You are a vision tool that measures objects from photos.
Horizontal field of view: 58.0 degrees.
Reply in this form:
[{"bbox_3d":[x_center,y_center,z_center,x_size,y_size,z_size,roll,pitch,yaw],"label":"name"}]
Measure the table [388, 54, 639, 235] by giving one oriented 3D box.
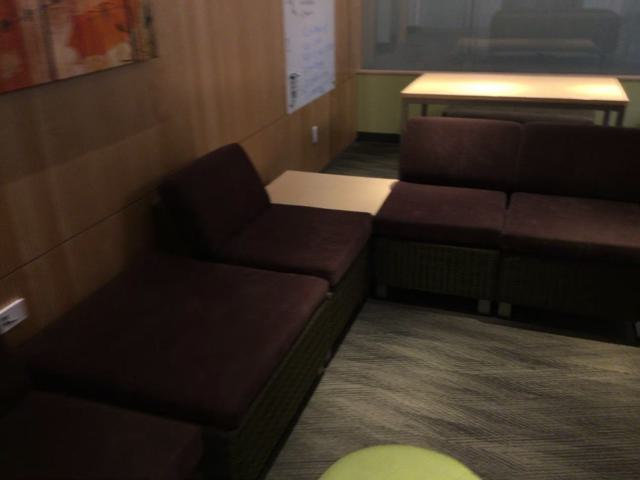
[{"bbox_3d":[1.240,-0.690,3.760,1.360,0.890,0.830,9,24,22],"label":"table"}]
